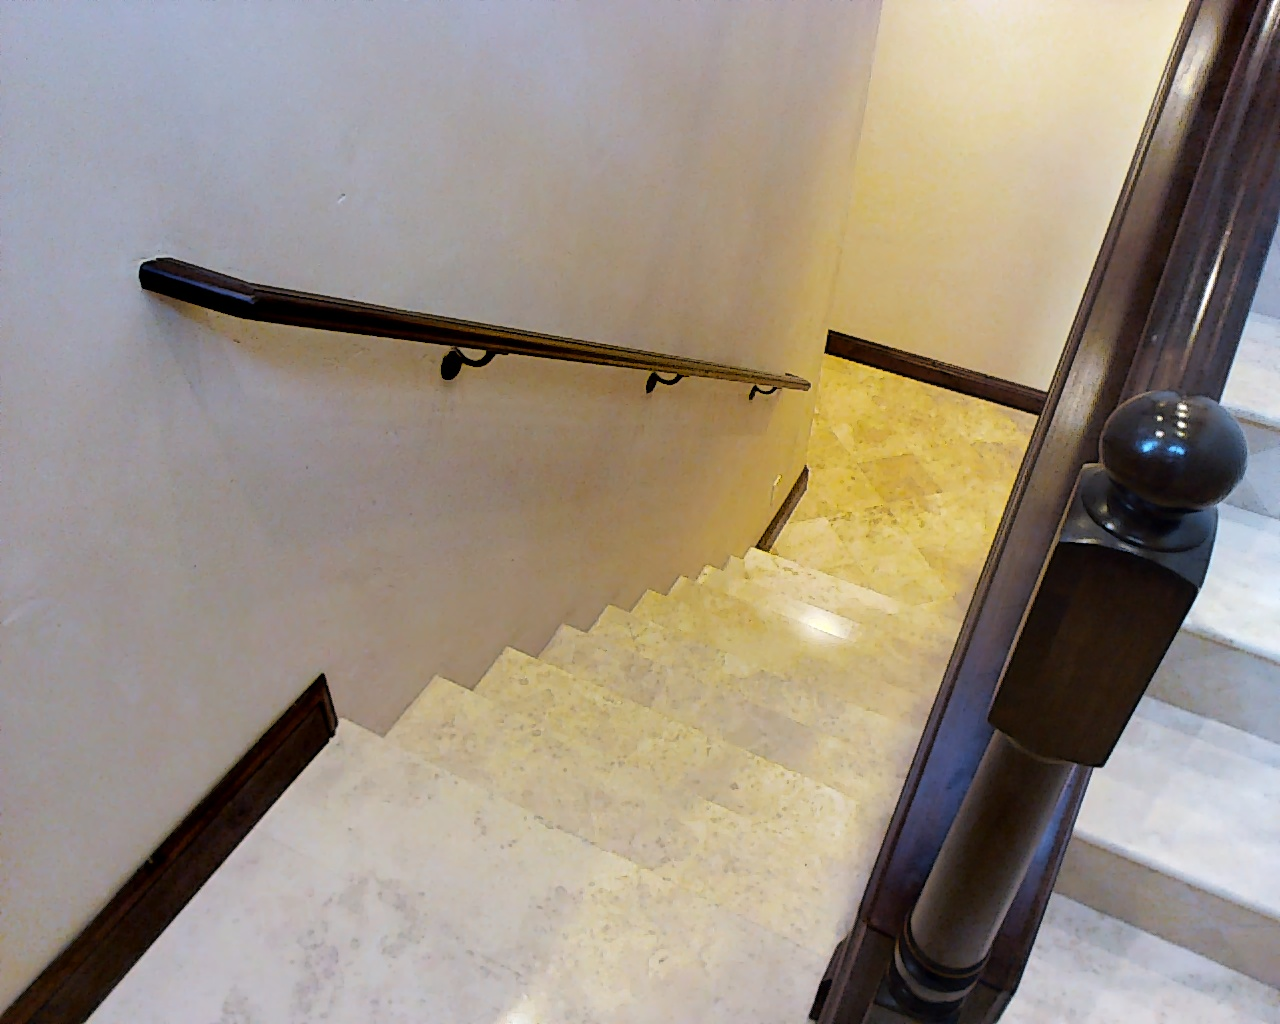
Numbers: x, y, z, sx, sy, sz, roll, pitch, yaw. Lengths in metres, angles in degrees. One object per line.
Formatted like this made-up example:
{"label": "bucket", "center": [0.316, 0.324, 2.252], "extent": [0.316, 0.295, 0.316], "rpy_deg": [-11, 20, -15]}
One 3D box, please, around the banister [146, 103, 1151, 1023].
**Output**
{"label": "banister", "center": [0.400, 0.330, 3.330], "extent": [1.220, 1.890, 3.170], "rpy_deg": [20, 46, 19]}
